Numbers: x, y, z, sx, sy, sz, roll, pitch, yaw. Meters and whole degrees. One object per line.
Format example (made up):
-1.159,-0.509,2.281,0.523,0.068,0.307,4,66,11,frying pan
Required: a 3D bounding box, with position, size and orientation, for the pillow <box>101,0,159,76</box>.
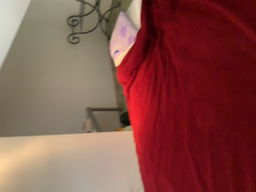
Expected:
-0.030,-0.520,1.620,0.720,0.170,0.370,120,145,-54,pillow
